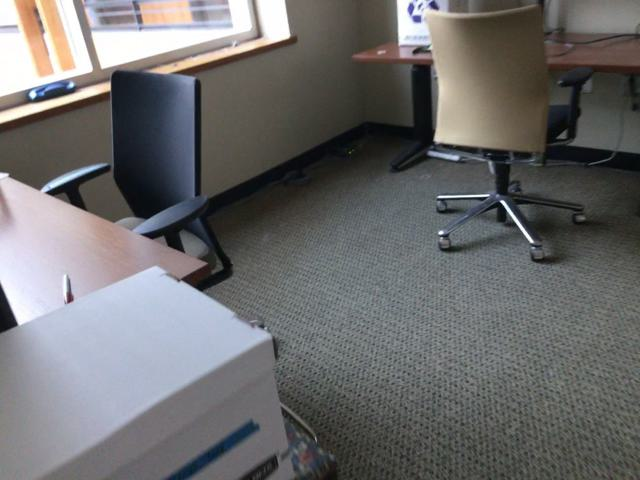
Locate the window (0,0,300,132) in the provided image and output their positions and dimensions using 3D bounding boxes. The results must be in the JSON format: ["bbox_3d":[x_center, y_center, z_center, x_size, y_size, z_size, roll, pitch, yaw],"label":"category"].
[{"bbox_3d":[-1.080,-1.200,2.550,0.500,1.100,2.150,17,35,40],"label":"window"}]
